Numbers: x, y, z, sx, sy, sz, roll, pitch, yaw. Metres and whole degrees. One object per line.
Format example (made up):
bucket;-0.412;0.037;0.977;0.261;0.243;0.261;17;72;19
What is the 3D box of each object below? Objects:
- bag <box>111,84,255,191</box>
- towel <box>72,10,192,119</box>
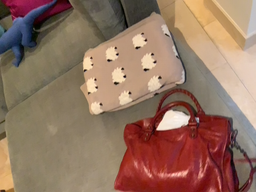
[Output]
bag;0.160;0.180;0.700;0.420;0.110;0.350;-11;67;19
towel;-0.010;-0.130;0.920;0.470;0.070;0.320;-20;64;15
